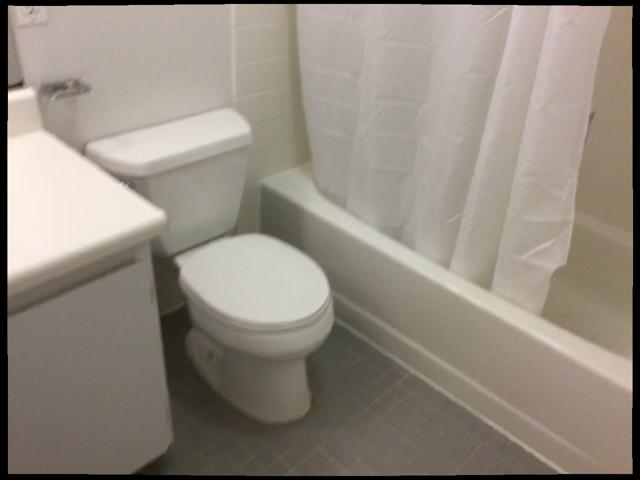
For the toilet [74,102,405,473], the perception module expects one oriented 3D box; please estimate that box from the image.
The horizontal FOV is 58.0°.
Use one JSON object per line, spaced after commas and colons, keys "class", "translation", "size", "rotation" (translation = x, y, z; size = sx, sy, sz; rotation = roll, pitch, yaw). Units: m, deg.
{"class": "toilet", "translation": [-0.250, 0.090, 1.720], "size": [0.710, 0.691, 0.540], "rotation": [32, 42, 33]}
